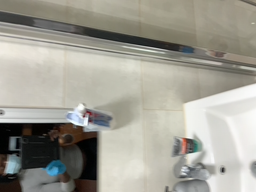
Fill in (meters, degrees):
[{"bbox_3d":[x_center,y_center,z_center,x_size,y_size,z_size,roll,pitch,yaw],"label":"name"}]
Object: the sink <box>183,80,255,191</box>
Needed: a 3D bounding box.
[{"bbox_3d":[0.410,0.250,0.730,0.410,0.160,0.550,157,113,-62],"label":"sink"}]
